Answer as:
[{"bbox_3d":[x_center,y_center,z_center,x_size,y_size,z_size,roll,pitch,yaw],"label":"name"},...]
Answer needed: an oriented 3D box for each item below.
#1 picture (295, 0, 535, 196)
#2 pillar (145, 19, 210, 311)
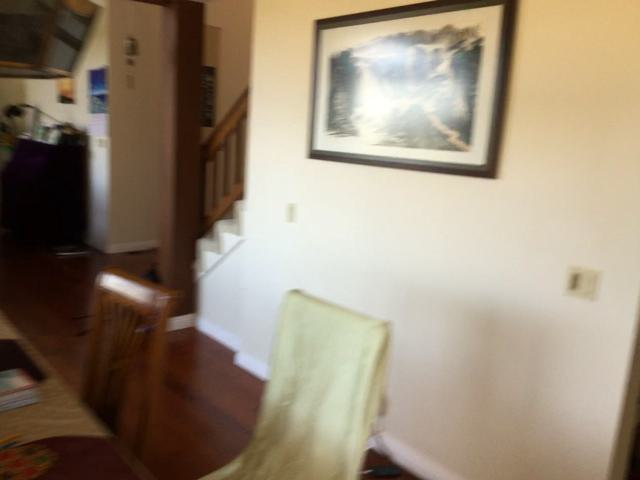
[{"bbox_3d":[0.340,-0.730,2.660,0.120,0.840,1.230,-5,17,-39],"label":"picture"},{"bbox_3d":[-1.060,-0.510,4.250,0.270,2.060,0.280,-5,17,-39],"label":"pillar"}]
